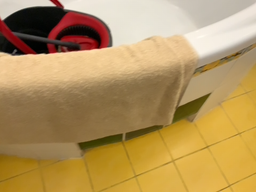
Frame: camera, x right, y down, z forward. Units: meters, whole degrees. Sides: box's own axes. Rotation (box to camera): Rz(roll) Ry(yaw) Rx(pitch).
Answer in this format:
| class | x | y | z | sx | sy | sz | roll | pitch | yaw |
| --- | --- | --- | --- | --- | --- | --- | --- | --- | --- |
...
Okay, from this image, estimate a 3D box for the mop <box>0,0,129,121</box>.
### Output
| class | x | y | z | sx | sy | sz | roll | pitch | yaw |
| --- | --- | --- | --- | --- | --- | --- | --- | --- | --- |
| mop | -0.310 | -0.240 | 0.890 | 0.540 | 0.430 | 0.450 | 11 | 59 | 3 |
